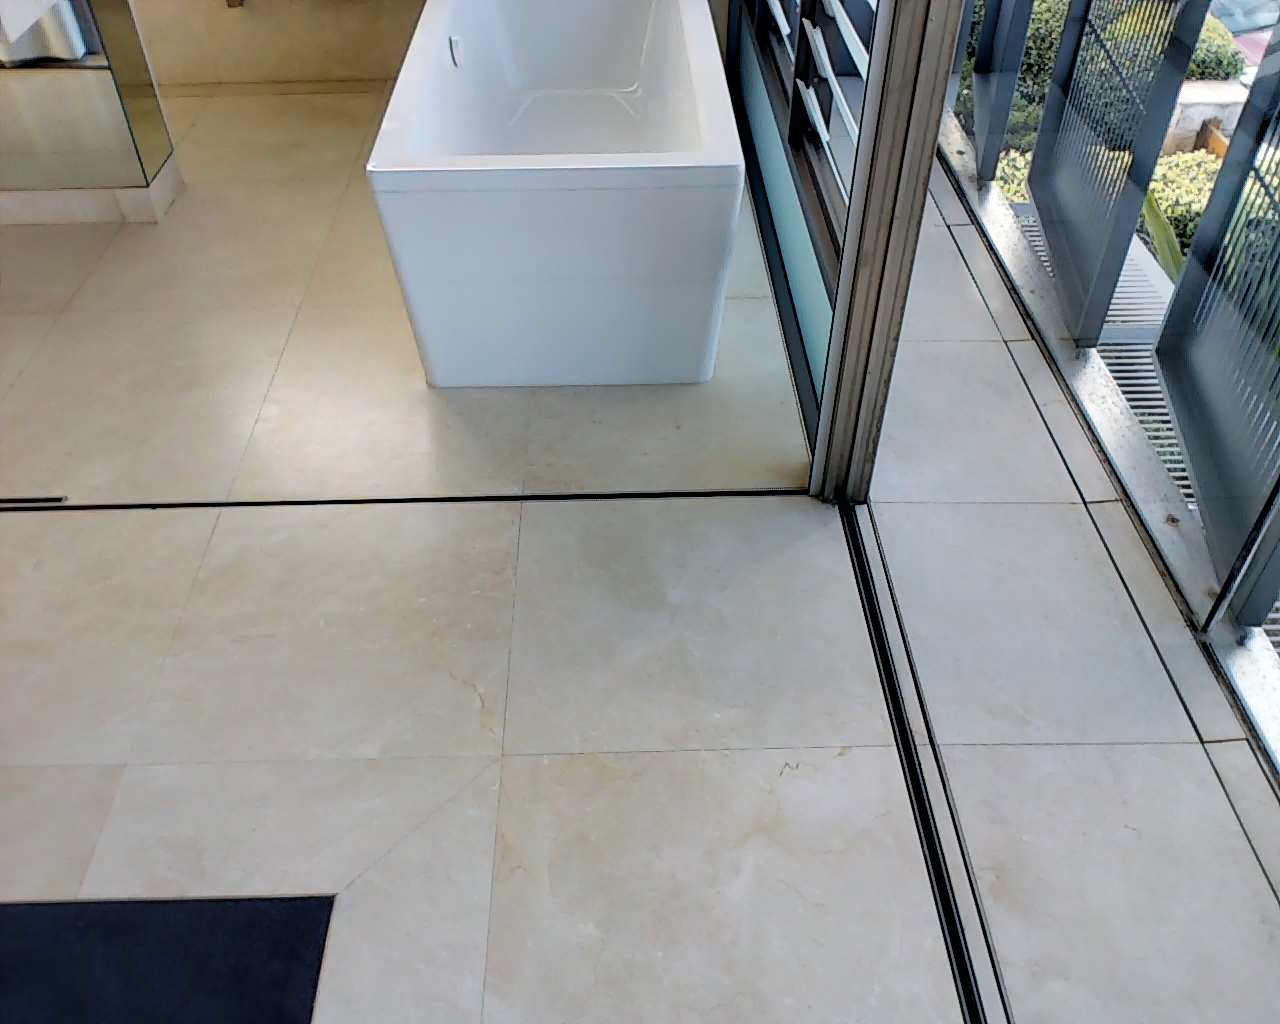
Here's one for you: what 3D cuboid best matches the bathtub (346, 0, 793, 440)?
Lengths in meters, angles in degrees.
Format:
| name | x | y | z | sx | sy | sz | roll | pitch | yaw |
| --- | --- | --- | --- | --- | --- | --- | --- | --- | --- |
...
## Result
| name | x | y | z | sx | sy | sz | roll | pitch | yaw |
| --- | --- | --- | --- | --- | --- | --- | --- | --- | --- |
| bathtub | -0.160 | -1.070 | 3.100 | 0.910 | 0.660 | 1.890 | -2 | 42 | 0 |
